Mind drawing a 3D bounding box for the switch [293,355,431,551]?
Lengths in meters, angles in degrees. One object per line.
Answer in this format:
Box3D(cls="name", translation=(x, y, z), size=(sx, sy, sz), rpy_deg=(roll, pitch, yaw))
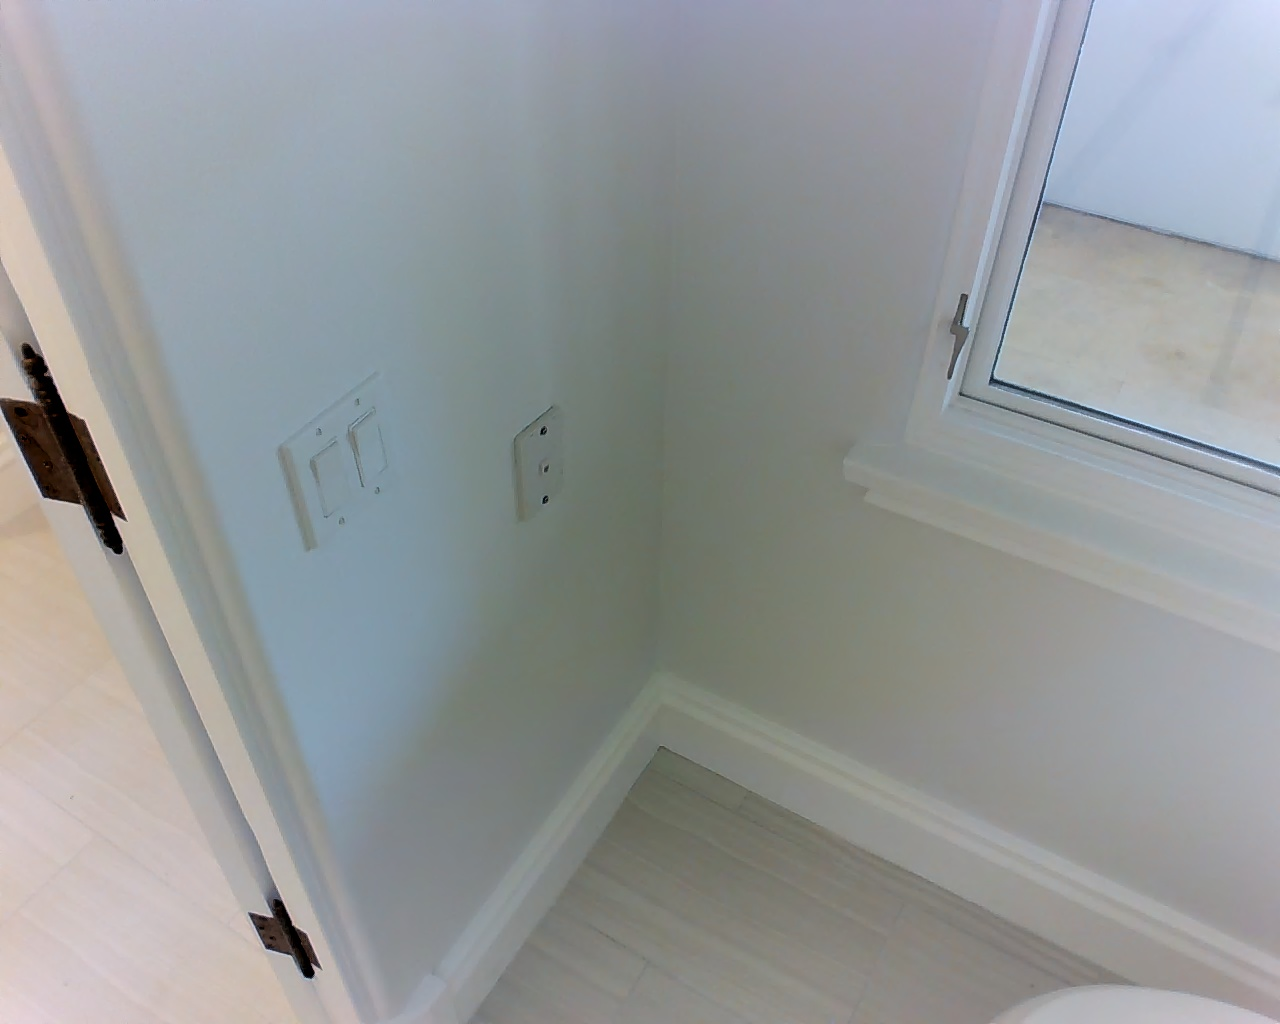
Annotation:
Box3D(cls="switch", translation=(-0.230, -0.050, 0.910), size=(0.010, 0.120, 0.130), rpy_deg=(23, 48, 22))
